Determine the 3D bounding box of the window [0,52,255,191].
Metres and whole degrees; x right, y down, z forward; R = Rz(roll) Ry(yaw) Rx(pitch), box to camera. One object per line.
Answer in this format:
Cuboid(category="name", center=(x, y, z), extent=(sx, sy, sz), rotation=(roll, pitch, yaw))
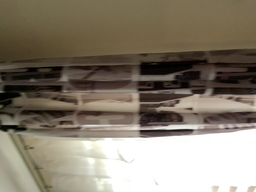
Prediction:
Cuboid(category="window", center=(0.200, 0.650, 1.400), extent=(0.220, 1.820, 1.890), rotation=(-84, -7, -55))
